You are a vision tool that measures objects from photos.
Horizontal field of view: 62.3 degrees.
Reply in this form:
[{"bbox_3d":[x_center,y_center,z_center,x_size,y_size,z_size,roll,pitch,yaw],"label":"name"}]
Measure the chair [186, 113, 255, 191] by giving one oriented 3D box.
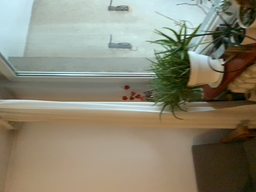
[{"bbox_3d":[1.020,0.560,1.770,0.720,0.760,0.630,102,167,-66],"label":"chair"}]
